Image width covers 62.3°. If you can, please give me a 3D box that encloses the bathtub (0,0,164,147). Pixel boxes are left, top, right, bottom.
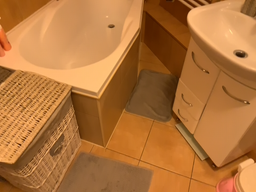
[{"bbox_3d":[-0.280,-0.450,1.780,0.810,0.560,1.450,15,50,13],"label":"bathtub"}]

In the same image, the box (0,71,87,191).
[{"bbox_3d":[-0.500,0.250,1.150,0.320,0.560,0.440,13,49,11],"label":"box"}]

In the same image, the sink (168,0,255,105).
[{"bbox_3d":[0.480,-0.230,0.920,0.410,0.150,0.440,-20,51,-17],"label":"sink"}]
